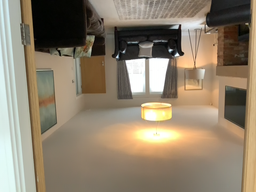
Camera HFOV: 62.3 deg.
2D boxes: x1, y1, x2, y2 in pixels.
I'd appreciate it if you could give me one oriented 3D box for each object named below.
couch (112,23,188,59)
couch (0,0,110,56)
[{"bbox_3d":[0.590,-1.570,6.260,2.040,0.890,1.050,-1,-172,1],"label":"couch"},{"bbox_3d":[-1.060,-1.240,3.950,1.200,0.850,2.330,-1,-172,1],"label":"couch"}]
